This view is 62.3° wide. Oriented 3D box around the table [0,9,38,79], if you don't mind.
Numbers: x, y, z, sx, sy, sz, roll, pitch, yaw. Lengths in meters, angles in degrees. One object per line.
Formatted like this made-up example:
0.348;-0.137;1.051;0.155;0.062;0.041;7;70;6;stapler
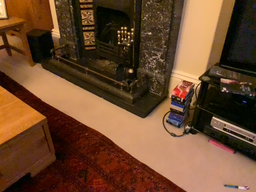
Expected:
-1.520;-0.590;2.370;0.620;0.540;0.620;24;41;28;table

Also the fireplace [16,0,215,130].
-0.270;-0.750;2.010;1.860;1.280;0.650;27;42;31;fireplace
